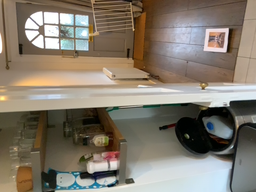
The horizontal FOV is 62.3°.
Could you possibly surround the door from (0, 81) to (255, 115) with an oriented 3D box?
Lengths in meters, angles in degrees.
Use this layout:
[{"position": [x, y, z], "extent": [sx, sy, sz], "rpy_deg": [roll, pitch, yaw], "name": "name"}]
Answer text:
[{"position": [0.120, -0.040, 1.240], "extent": [0.910, 2.010, 0.030], "rpy_deg": [-158, 68, -70], "name": "door"}]
